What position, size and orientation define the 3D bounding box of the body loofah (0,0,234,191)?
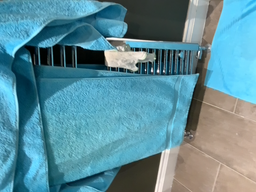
[{"bbox_3d":[-0.070,0.120,0.880,0.200,1.190,1.020,26,115,47],"label":"body loofah"}]
